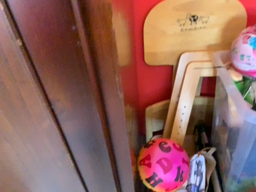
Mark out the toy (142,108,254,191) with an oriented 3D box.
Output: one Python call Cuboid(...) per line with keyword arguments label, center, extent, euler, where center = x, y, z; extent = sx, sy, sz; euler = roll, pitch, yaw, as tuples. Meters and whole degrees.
Cuboid(label="toy", center=(0.220, 0.390, 0.890), extent=(0.300, 0.580, 0.370), euler=(-2, 42, 4))
